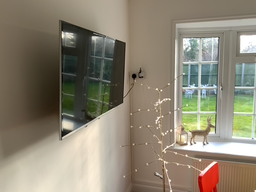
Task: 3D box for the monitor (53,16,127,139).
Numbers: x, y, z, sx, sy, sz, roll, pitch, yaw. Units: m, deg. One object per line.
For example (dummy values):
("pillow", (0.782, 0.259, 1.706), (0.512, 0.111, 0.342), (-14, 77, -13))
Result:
("monitor", (-0.170, -0.120, 1.360), (0.060, 0.520, 0.950), (5, 7, 14))
